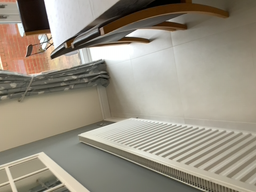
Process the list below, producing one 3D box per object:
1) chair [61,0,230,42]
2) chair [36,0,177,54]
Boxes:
[{"bbox_3d":[0.130,-0.600,1.160,0.370,0.910,0.490,10,110,54],"label":"chair"},{"bbox_3d":[-0.120,-0.620,1.510,0.350,0.910,0.500,4,105,55],"label":"chair"}]
